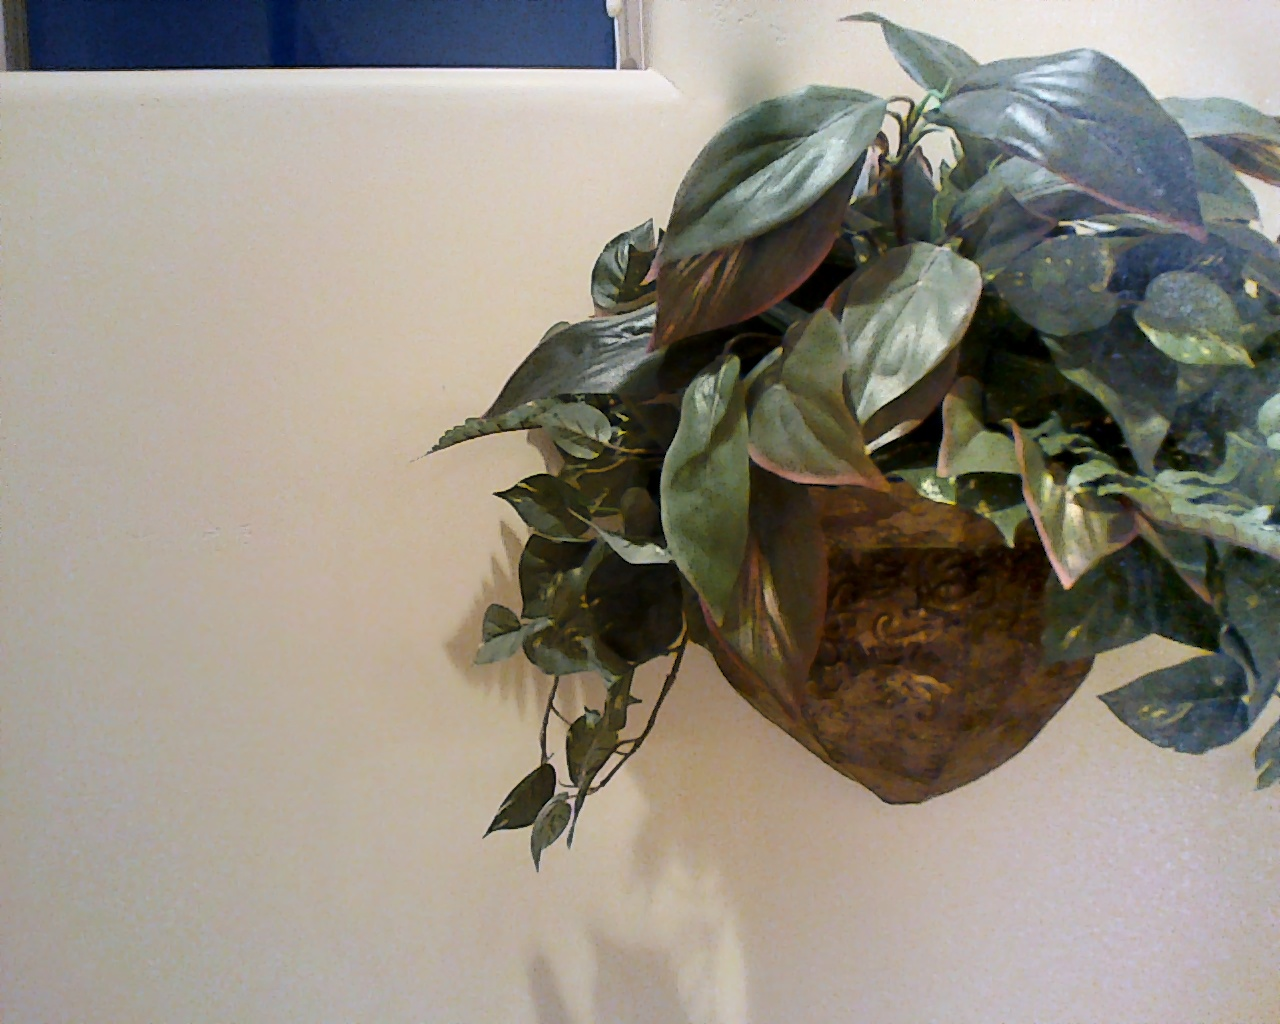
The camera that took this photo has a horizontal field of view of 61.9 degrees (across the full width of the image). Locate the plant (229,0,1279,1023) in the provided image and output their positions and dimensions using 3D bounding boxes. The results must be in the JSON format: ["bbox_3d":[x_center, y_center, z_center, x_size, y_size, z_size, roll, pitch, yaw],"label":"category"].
[{"bbox_3d":[0.170,-0.050,0.590,0.650,0.570,0.360,-2,3,-3],"label":"plant"}]

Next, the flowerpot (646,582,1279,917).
[{"bbox_3d":[0.230,0.140,0.690,0.440,0.160,0.160,-2,3,-3],"label":"flowerpot"}]
